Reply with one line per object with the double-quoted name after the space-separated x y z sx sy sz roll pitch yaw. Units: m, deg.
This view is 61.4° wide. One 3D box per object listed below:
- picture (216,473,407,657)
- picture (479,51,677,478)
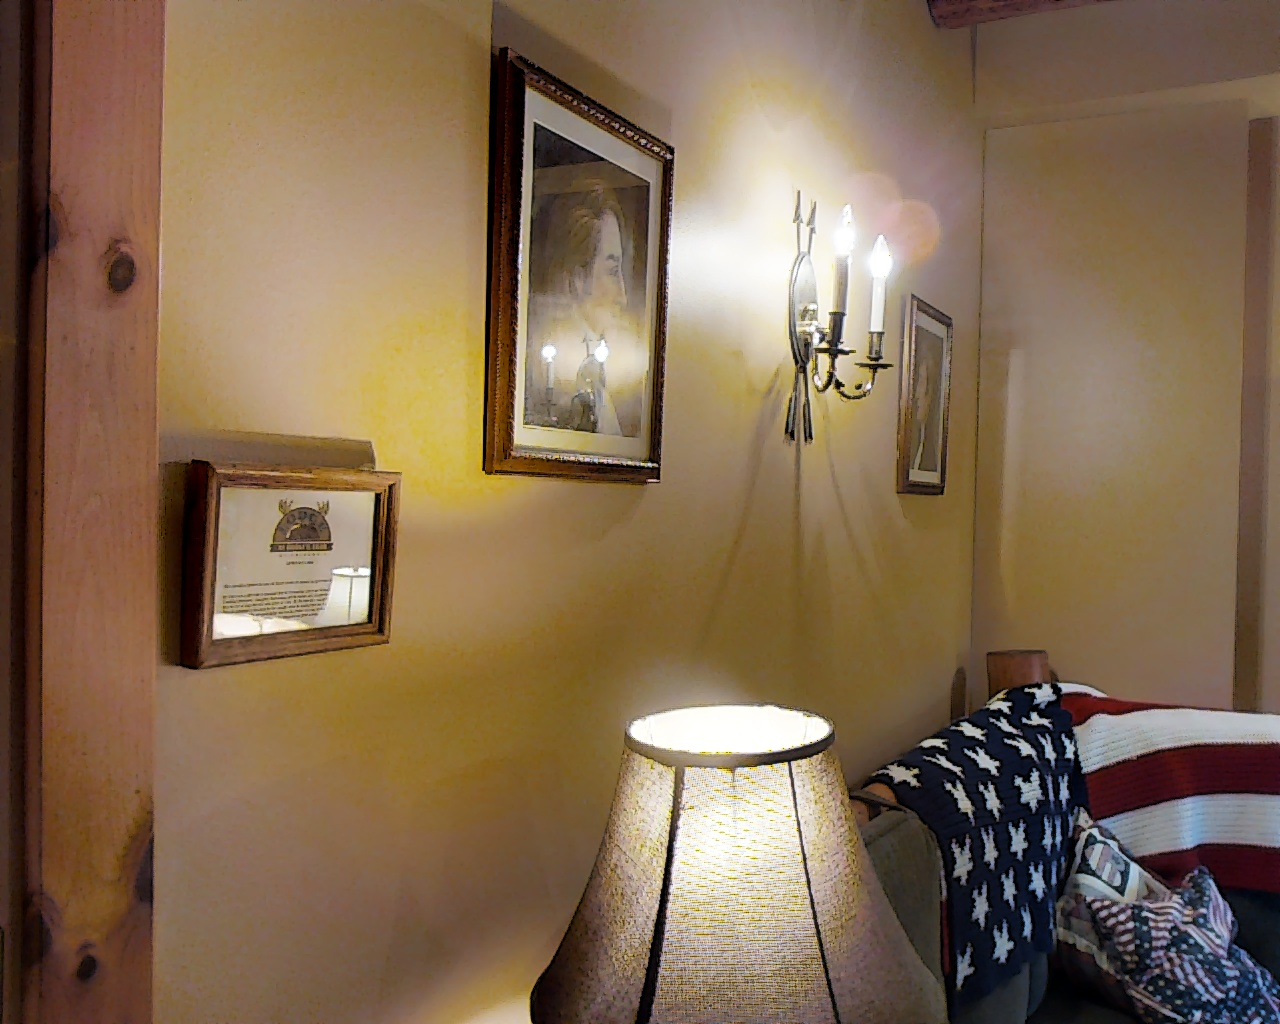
-0.270 0.040 0.910 0.010 0.140 0.200 1 1 30 "picture"
-0.060 -0.260 1.280 0.030 0.430 0.370 1 1 30 "picture"
